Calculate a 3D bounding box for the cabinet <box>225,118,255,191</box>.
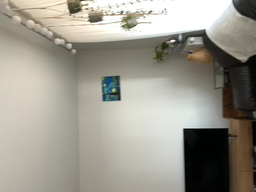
[{"bbox_3d":[1.670,1.080,3.100,0.370,0.320,1.490,9,-100,-86],"label":"cabinet"}]
